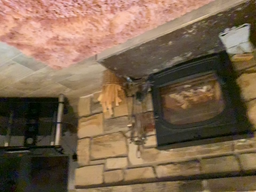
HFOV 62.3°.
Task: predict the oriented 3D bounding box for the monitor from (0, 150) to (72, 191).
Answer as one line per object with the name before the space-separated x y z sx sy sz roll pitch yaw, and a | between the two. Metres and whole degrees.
monitor | -1.000 0.780 1.910 0.920 0.540 0.060 0 156 -7

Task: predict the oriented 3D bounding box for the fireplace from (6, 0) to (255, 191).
fireplace | 0.560 0.130 1.450 2.510 0.960 1.170 -16 153 27
